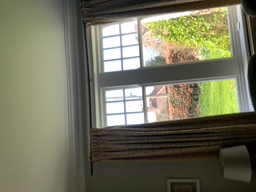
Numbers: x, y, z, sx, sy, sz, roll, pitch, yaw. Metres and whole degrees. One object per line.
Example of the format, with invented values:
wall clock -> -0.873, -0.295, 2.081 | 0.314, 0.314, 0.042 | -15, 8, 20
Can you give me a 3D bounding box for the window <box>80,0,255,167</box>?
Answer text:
window -> 0.420, -0.210, 2.630 | 0.340, 1.950, 2.020 | 29, -123, -77
